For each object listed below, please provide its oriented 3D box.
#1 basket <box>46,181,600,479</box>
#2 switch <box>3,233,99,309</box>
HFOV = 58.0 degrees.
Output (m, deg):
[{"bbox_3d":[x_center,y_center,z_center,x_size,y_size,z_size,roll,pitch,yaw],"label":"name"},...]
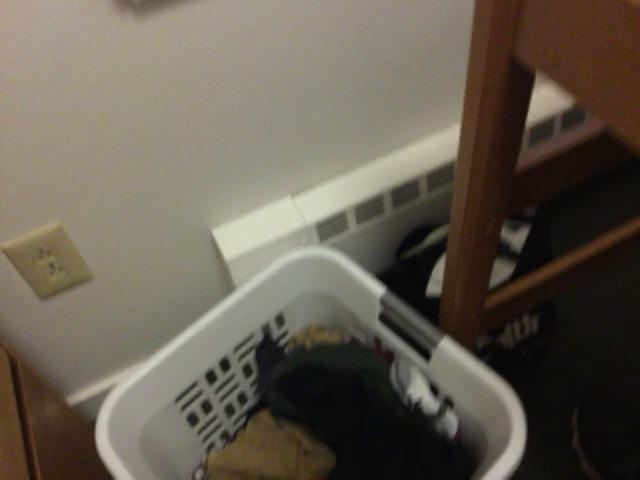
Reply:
[{"bbox_3d":[-0.030,0.320,0.930,0.540,0.360,0.600,-27,52,-13],"label":"basket"},{"bbox_3d":[-0.410,0.050,0.890,0.090,0.120,0.010,-27,52,-13],"label":"switch"}]
